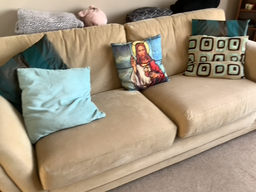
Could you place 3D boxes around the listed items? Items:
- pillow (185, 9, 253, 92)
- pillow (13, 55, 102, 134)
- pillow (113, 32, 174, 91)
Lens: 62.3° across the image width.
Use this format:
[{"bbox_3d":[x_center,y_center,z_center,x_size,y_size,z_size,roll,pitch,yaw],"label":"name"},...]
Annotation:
[{"bbox_3d":[0.800,-0.380,1.910,0.490,0.620,0.250,-5,8,19],"label":"pillow"},{"bbox_3d":[-0.460,-0.020,1.430,0.480,0.440,0.180,-9,-2,-21],"label":"pillow"},{"bbox_3d":[0.130,-0.280,1.680,0.440,0.390,0.140,-11,19,-16],"label":"pillow"}]
